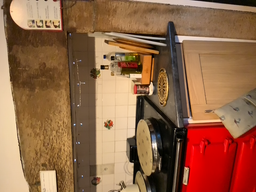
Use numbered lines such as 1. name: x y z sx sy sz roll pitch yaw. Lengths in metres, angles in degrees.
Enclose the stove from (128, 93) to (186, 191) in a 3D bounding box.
1. stove: 0.150 0.570 1.560 0.710 0.120 1.020 -125 35 -69
